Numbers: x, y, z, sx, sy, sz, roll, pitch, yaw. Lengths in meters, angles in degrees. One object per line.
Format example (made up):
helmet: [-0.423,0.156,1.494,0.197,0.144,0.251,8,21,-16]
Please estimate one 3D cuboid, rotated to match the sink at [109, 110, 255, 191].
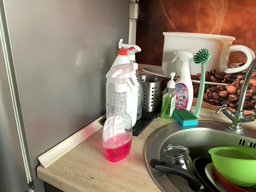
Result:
sink: [0.290,0.270,0.630,0.510,0.180,0.480,14,23,26]
